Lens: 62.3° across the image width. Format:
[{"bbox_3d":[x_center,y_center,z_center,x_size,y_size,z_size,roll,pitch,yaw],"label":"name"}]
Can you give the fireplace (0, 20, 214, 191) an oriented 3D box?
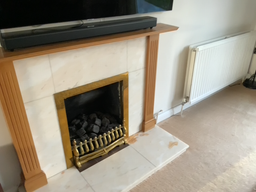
[{"bbox_3d":[-0.160,0.090,1.450,1.320,0.980,0.660,-21,34,-35],"label":"fireplace"}]
